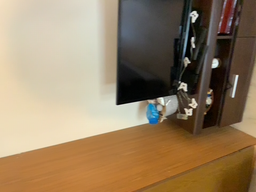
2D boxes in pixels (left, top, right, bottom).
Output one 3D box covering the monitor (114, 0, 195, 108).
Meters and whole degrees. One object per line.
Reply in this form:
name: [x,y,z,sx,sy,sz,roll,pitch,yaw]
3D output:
monitor: [0.150,-0.330,1.150,0.050,0.470,0.750,33,126,55]
